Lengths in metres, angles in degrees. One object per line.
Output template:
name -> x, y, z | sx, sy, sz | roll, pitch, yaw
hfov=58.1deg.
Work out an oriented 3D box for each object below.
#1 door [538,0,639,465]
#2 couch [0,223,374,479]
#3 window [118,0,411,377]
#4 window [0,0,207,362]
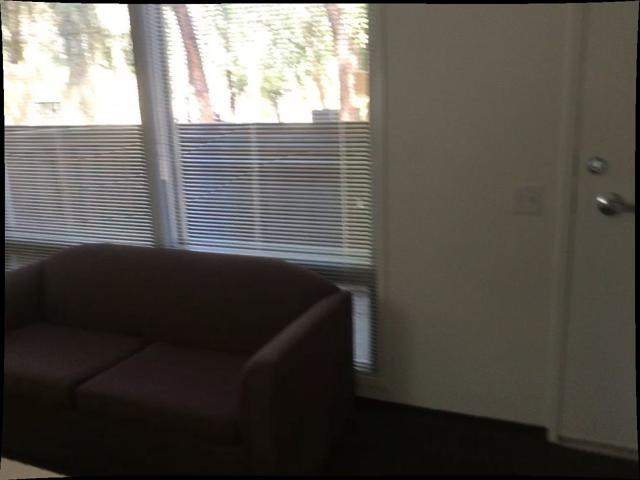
door -> 1.188, 0.010, 2.210 | 0.549, 1.763, 0.250 | 5, 18, 26
couch -> -0.809, 0.481, 2.660 | 1.838, 0.761, 1.040 | 5, 18, 26
window -> -0.240, -0.290, 2.830 | 1.278, 1.683, 0.410 | 5, 18, 26
window -> -1.338, -0.401, 3.130 | 1.278, 1.953, 0.330 | 5, 18, 26
